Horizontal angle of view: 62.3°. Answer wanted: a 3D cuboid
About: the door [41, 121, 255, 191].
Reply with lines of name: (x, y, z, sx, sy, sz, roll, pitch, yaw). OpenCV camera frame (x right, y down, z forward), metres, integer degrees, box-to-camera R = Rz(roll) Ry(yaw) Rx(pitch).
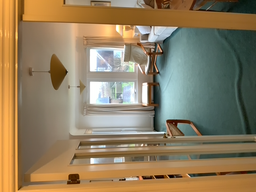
door: (0.440, 0.420, 1.740, 0.720, 2.020, 0.170, -122, 33, -75)
